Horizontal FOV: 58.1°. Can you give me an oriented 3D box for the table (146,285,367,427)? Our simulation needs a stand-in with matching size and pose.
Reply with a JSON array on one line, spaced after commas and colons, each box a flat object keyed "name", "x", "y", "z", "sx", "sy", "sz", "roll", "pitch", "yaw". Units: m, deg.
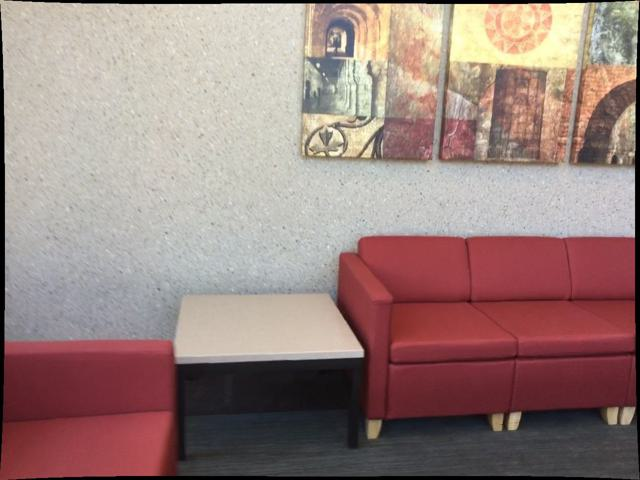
[{"name": "table", "x": -0.309, "y": 0.491, "z": 2.710, "sx": 0.849, "sy": 0.321, "sz": 0.930, "roll": 2, "pitch": 10, "yaw": -9}]
